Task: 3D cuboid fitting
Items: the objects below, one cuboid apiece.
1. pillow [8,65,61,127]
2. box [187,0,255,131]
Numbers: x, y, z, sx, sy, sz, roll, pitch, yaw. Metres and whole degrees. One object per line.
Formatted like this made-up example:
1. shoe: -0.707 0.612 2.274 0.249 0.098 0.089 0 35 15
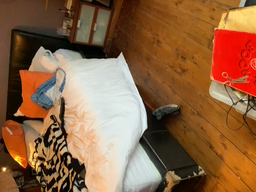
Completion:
1. pillow: -1.100 0.020 2.470 0.720 0.300 0.150 -55 43 18
2. box: 0.640 -0.160 0.960 0.440 0.400 0.520 36 119 50
